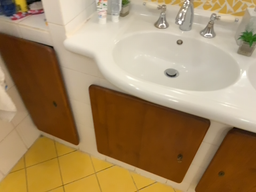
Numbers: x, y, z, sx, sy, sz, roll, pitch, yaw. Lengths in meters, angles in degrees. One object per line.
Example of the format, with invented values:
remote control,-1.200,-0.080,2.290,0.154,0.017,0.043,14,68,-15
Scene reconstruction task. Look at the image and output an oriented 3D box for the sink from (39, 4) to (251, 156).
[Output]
sink,0.100,-0.130,0.870,0.650,0.200,0.520,16,46,13
